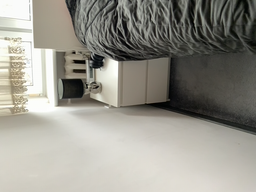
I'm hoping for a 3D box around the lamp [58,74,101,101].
[{"bbox_3d":[-0.390,-0.080,1.710,0.190,0.280,0.180,16,107,55],"label":"lamp"}]
